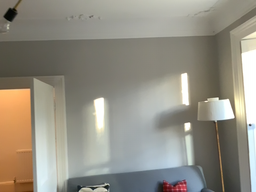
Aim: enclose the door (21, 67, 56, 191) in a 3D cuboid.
[{"bbox_3d":[-1.090,0.840,2.690,0.160,2.280,0.810,-3,-2,-9],"label":"door"}]
